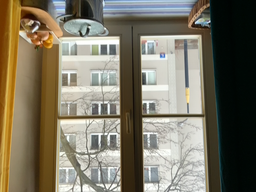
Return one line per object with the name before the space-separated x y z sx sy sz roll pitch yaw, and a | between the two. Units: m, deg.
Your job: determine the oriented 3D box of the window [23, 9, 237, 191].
window | 0.020 0.380 1.260 1.190 1.790 0.140 0 174 -3
